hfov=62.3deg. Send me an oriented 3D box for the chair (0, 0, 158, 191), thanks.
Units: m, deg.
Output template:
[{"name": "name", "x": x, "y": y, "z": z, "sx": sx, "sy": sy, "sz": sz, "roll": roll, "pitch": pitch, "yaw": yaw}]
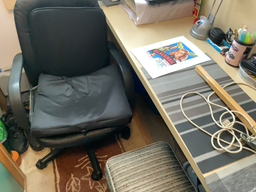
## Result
[{"name": "chair", "x": -0.310, "y": -0.010, "z": 1.220, "sx": 0.640, "sy": 0.810, "sz": 0.720, "roll": -10, "pitch": 49, "yaw": -11}]
